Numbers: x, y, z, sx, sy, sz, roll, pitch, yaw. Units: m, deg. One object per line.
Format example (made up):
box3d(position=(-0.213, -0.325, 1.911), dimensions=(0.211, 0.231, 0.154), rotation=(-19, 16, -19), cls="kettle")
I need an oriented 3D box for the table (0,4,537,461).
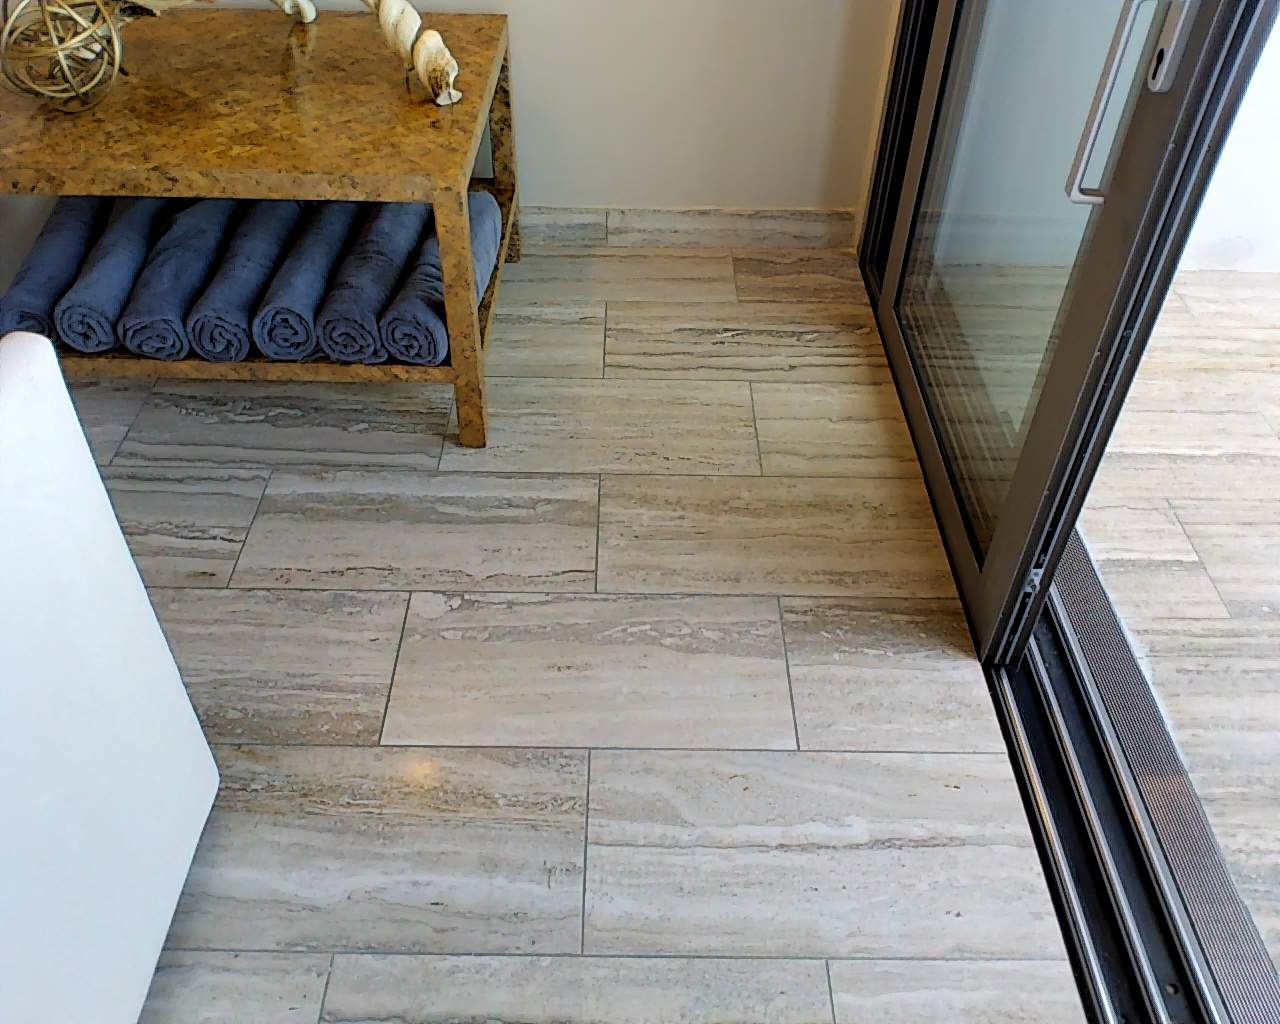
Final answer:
box3d(position=(-0.720, -0.590, 2.170), dimensions=(0.940, 0.560, 0.840), rotation=(0, 42, -1), cls="table")
